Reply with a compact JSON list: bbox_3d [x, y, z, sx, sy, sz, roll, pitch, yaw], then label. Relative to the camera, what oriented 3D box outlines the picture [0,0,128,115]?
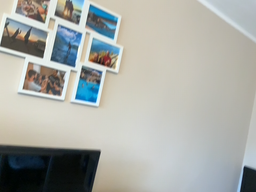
[{"bbox_3d":[-0.290,-0.230,1.020,0.540,0.570,0.060,14,-3,-36],"label":"picture"}]
